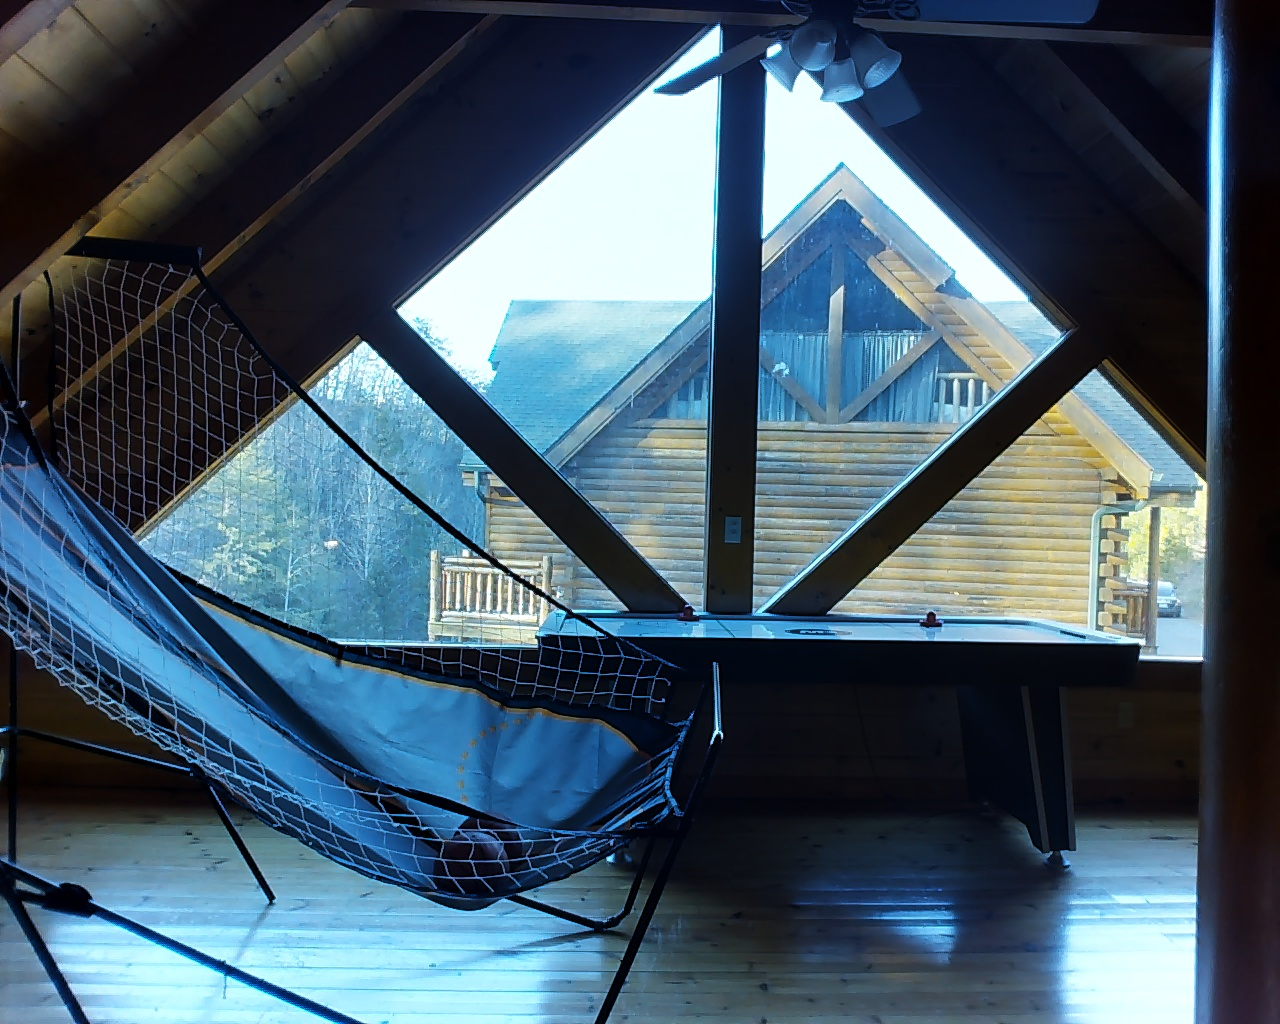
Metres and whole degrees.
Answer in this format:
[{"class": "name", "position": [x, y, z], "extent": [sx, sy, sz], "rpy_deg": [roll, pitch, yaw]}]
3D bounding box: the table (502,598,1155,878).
[{"class": "table", "position": [0.630, 0.800, 4.140], "extent": [2.159, 0.780, 1.080], "rpy_deg": [2, 0, 0]}]
